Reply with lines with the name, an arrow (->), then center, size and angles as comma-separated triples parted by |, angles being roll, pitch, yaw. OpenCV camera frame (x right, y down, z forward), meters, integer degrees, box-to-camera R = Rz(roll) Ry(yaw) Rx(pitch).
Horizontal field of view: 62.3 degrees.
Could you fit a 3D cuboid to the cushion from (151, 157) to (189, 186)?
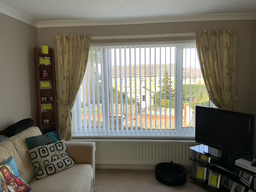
cushion -> 0.600, 1.110, 3.150 | 0.490, 0.190, 0.490 | 0, 7, 5
